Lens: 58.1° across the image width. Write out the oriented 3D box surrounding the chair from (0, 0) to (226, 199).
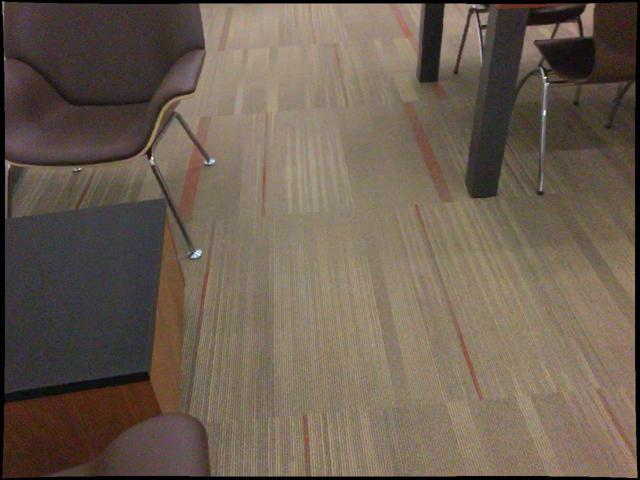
[{"bbox_3d":[-0.838,-0.602,2.100,0.878,0.501,0.741,-6,40,-2],"label":"chair"}]
